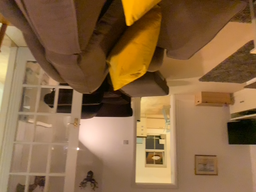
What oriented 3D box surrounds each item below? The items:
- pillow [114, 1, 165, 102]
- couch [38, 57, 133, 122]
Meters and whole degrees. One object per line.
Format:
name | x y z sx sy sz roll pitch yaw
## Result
pillow | 0.040 -0.280 1.360 0.230 0.440 0.460 2 135 -6
couch | -0.620 0.000 3.810 0.940 0.750 1.600 -3 167 20
